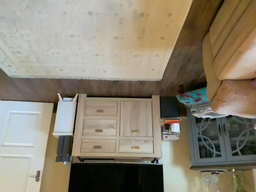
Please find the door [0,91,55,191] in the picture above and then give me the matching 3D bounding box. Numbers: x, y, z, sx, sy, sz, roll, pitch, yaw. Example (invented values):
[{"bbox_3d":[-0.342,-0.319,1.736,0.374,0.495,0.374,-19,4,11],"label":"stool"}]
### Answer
[{"bbox_3d":[-1.500,0.830,2.770,0.790,1.880,0.080,3,157,-6],"label":"door"}]
